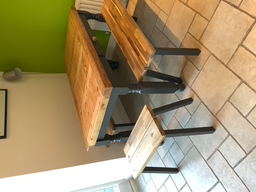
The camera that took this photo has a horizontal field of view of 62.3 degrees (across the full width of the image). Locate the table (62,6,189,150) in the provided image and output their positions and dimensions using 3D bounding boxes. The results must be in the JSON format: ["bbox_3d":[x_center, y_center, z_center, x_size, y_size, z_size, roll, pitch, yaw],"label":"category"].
[{"bbox_3d":[-0.170,-0.260,2.260,1.350,0.760,0.730,63,144,40],"label":"table"}]
